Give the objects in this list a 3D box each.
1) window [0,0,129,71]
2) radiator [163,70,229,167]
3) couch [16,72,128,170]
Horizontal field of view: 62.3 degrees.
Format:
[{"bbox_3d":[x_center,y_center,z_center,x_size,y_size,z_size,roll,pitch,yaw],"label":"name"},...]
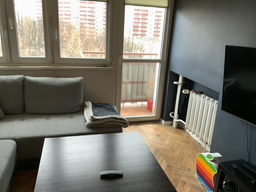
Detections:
[{"bbox_3d":[-1.080,-0.940,2.720,2.210,1.220,0.100,-2,18,-18],"label":"window"},{"bbox_3d":[0.860,0.230,2.990,0.170,0.970,1.130,-1,18,-15],"label":"radiator"},{"bbox_3d":[-0.700,0.220,2.730,1.110,0.860,0.960,-2,18,-18],"label":"couch"}]
